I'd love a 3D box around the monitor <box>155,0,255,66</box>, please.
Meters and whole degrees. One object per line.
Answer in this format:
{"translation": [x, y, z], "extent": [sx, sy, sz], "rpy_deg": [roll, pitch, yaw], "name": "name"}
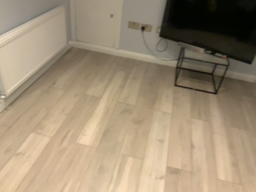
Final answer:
{"translation": [0.880, -0.800, 2.380], "extent": [1.090, 0.630, 0.070], "rpy_deg": [23, 39, 19], "name": "monitor"}
